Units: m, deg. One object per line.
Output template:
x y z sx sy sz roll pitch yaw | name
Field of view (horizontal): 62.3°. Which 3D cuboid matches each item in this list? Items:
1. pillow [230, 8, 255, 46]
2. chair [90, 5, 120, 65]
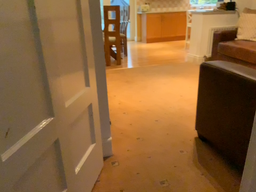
1.860 -1.040 3.190 0.470 0.460 0.200 26 41 37 | pillow
-0.440 -1.180 4.090 0.380 1.030 0.560 -9 23 -17 | chair
